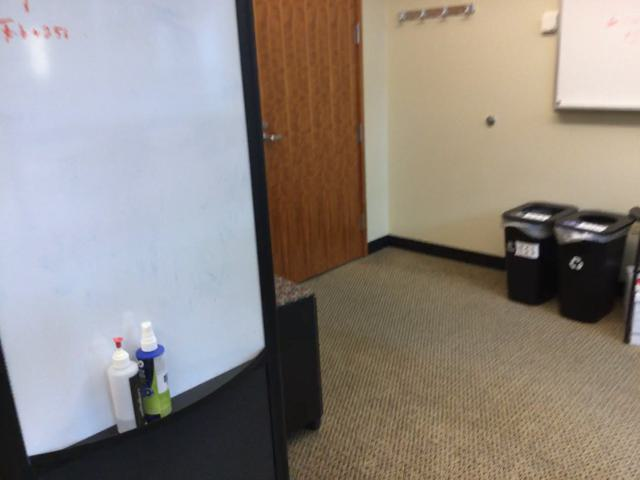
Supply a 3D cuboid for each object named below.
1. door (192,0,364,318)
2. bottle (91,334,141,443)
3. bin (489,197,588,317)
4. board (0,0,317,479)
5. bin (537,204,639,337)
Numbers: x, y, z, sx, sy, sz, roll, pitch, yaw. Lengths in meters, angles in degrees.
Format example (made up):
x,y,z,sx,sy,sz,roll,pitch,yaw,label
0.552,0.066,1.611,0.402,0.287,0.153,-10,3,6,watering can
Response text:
x,y,z,sx,sy,sz,roll,pitch,yaw,label
-0.180,-1.090,3.180,0.110,2.870,1.120,11,17,44,door
-0.360,0.260,1.020,0.070,0.170,0.040,11,17,44,bottle
1.190,0.070,3.150,0.320,0.530,0.460,11,17,44,bin
-0.320,0.160,1.110,0.180,1.600,0.670,11,17,44,board
1.360,0.130,2.920,0.320,0.550,0.430,11,17,44,bin
